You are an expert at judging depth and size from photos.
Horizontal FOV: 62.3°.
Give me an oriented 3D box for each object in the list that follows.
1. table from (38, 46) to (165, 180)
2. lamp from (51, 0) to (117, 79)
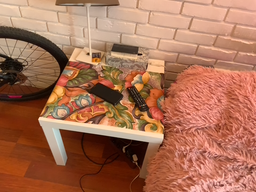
[{"bbox_3d":[-0.100,0.090,1.260,0.550,0.450,0.560,8,47,1],"label":"table"},{"bbox_3d":[-0.190,-0.360,1.030,0.230,0.490,0.240,9,47,2],"label":"lamp"}]
